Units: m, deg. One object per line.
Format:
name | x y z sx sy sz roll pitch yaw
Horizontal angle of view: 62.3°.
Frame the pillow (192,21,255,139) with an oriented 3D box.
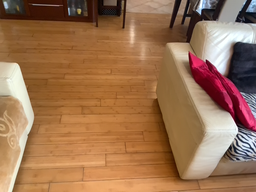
pillow | 0.570 -0.070 1.290 0.180 0.490 0.580 2 87 -3
